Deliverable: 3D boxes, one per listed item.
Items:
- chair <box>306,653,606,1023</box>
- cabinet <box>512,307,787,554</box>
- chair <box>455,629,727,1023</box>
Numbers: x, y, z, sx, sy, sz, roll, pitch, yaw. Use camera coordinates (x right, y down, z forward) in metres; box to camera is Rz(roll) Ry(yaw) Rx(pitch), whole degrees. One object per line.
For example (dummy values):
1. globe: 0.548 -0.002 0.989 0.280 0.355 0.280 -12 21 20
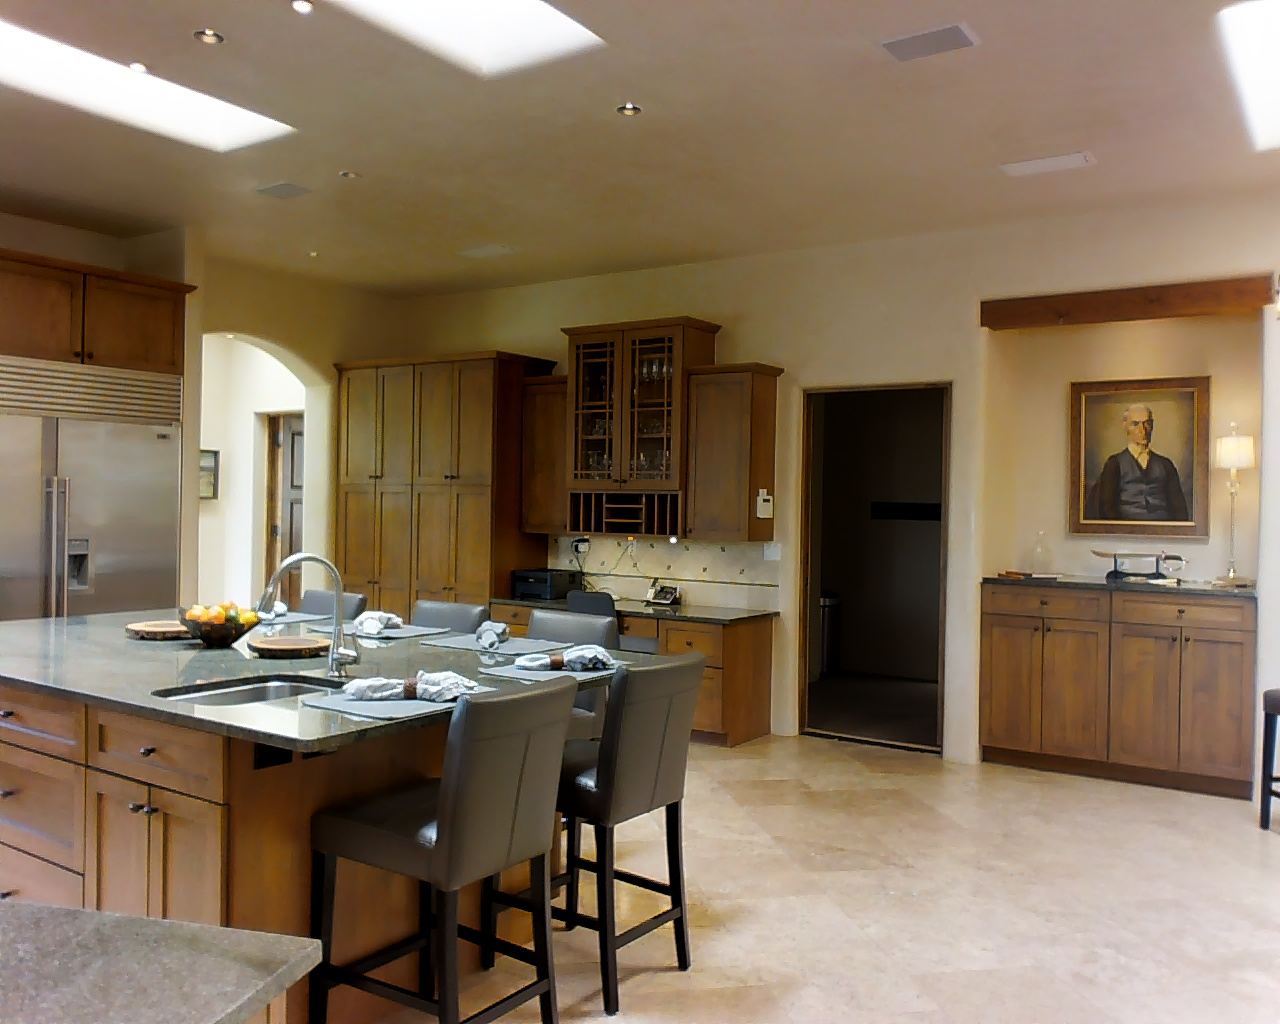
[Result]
1. chair: -0.470 0.910 2.780 0.550 0.990 0.510 1 0 34
2. cabinet: 0.020 -0.500 7.060 1.840 1.470 0.440 1 0 34
3. chair: -0.150 0.910 3.340 0.650 1.000 0.510 1 0 34
